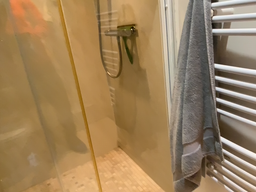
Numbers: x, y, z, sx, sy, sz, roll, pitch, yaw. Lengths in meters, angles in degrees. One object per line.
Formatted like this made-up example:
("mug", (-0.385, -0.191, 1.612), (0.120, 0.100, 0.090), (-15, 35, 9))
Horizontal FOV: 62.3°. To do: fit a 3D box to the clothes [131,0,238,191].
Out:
("clothes", (0.240, 0.110, 0.890), (0.250, 1.060, 0.250), (-18, 23, -26))
